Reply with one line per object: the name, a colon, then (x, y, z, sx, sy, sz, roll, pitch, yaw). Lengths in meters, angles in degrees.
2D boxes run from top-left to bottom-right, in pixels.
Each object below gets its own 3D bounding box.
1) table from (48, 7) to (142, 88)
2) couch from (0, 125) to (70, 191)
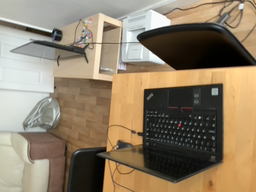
table: (-0.410, -0.460, 2.240, 1.040, 0.440, 0.610, 12, 95, 49)
couch: (-1.580, 1.320, 3.010, 0.970, 0.980, 1.600, 11, 95, 49)
